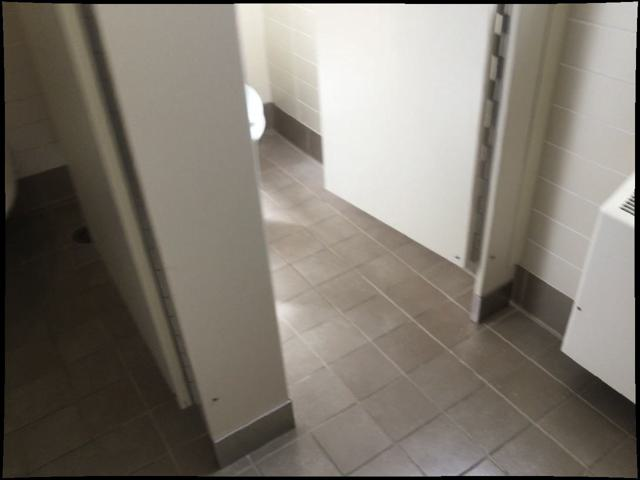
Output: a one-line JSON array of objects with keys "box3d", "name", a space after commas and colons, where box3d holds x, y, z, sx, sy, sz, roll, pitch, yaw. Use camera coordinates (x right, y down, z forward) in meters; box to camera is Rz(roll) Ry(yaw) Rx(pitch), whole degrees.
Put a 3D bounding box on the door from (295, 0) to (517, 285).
[{"box3d": [0.180, -0.430, 1.530, 0.150, 0.921, 0.660, -24, 42, -23], "name": "door"}]
